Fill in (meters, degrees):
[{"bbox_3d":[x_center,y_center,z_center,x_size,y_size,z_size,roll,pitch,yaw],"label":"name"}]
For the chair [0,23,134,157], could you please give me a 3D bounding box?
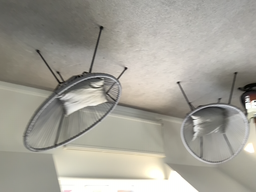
[{"bbox_3d":[-0.430,0.010,1.810,0.810,0.840,0.670,-7,154,10],"label":"chair"}]
